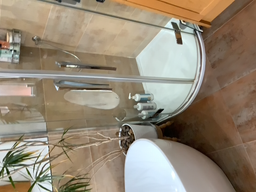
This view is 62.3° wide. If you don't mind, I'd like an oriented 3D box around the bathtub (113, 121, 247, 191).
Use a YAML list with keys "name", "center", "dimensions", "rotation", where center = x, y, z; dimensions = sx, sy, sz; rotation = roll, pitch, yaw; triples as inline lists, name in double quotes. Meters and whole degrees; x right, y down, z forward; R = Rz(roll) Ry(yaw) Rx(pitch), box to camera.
- name: "bathtub"
  center: [0.490, 1.170, 1.520]
  dimensions: [0.770, 0.570, 1.790]
  rotation: [-37, 60, 50]

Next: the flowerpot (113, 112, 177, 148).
- name: "flowerpot"
  center: [0.170, 0.320, 2.050]
  dimensions: [0.240, 0.530, 0.240]
  rotation: [-43, 56, 48]
